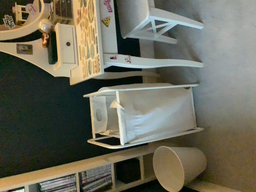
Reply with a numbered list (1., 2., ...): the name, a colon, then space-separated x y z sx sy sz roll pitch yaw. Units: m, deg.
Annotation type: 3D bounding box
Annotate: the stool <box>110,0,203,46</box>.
1. stool: 0.170 -0.590 1.380 0.330 0.450 0.390 -17 79 57
